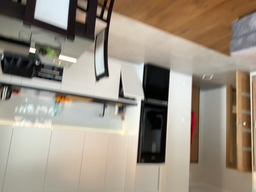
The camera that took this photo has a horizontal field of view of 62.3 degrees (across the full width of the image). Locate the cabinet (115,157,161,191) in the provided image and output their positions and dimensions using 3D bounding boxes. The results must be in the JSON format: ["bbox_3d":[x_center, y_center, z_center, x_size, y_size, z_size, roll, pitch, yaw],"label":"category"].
[{"bbox_3d":[0.190,1.670,4.410,0.620,0.680,0.730,10,169,-28],"label":"cabinet"}]
